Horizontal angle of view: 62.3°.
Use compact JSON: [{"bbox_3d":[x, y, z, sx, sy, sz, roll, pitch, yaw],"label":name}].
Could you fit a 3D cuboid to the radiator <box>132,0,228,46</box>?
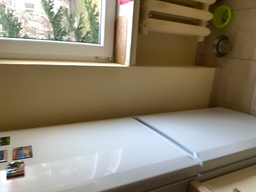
[{"bbox_3d":[0.390,-0.640,1.500,0.190,0.670,0.510,29,118,57],"label":"radiator"}]
